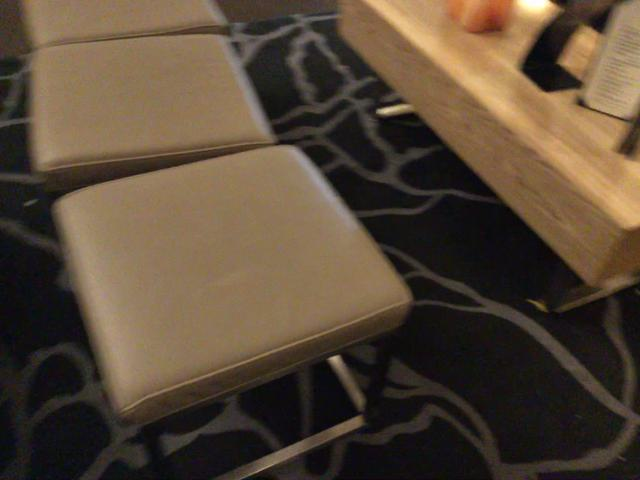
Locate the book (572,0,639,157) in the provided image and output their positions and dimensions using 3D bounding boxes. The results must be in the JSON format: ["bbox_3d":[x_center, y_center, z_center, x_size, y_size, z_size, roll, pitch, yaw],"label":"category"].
[{"bbox_3d":[0.740,-0.370,1.290,0.190,0.280,0.240,9,43,-1],"label":"book"}]

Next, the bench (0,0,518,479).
[{"bbox_3d":[-0.410,-0.230,1.460,0.680,0.500,1.790,-13,48,-22],"label":"bench"}]

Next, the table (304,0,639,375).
[{"bbox_3d":[0.600,-0.390,1.720,0.770,0.460,1.350,-14,48,-23],"label":"table"}]
